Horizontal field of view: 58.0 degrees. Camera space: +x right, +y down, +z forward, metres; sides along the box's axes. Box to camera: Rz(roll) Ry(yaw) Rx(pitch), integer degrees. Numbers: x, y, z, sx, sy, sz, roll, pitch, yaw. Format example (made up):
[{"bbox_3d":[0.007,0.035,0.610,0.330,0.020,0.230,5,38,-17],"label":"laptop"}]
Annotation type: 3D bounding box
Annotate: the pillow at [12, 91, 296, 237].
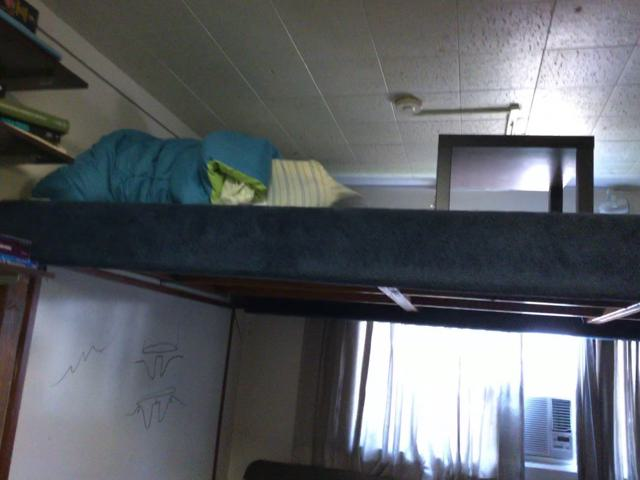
[{"bbox_3d":[-0.550,-0.250,2.040,0.820,0.360,0.420,2,-13,13],"label":"pillow"}]
